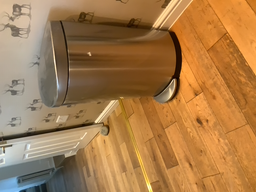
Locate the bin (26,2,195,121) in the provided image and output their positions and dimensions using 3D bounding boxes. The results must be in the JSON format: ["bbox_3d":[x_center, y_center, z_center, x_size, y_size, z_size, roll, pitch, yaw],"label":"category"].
[{"bbox_3d":[-0.100,-0.150,1.110,0.410,0.720,0.330,-47,56,50],"label":"bin"}]
